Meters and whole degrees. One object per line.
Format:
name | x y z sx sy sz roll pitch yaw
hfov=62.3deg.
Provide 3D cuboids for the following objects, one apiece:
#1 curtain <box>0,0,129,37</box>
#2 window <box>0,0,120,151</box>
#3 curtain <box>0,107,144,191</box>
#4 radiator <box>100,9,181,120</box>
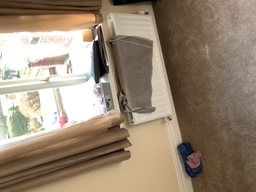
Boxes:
curtain | -0.770 -0.680 1.520 0.230 1.600 0.430 -25 78 58
window | -0.850 -0.170 1.700 0.410 1.370 1.040 -10 91 58
curtain | -0.580 0.410 1.460 0.180 1.470 0.350 -34 71 56
radiator | 0.130 -0.310 2.000 0.150 0.590 0.950 -15 87 58
